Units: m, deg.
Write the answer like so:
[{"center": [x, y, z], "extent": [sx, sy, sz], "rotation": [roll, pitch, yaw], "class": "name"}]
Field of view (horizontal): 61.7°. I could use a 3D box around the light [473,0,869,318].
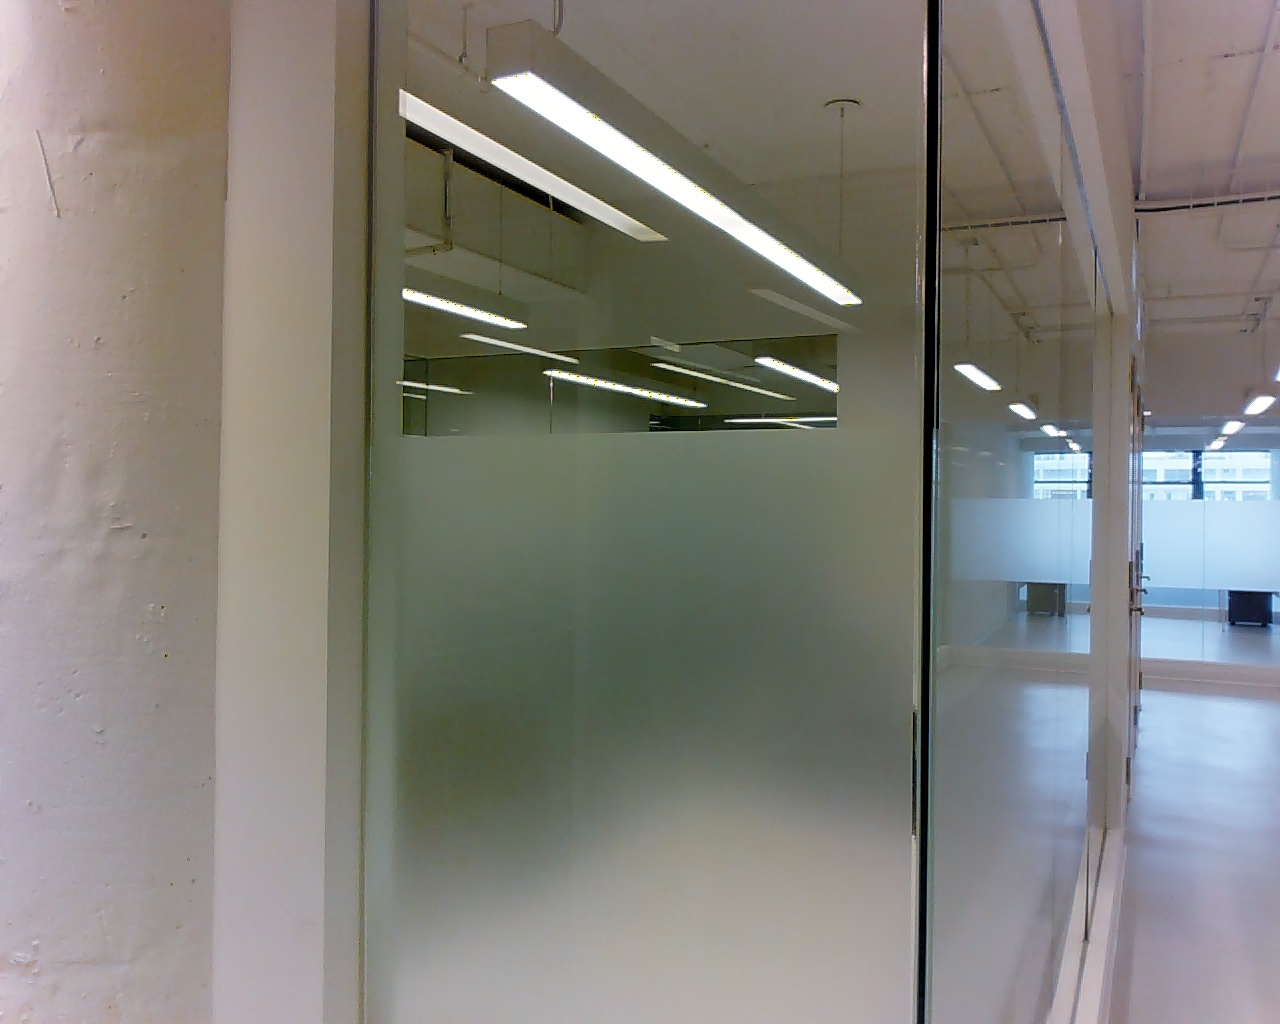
[{"center": [0.290, -0.900, 3.090], "extent": [0.170, 0.270, 2.470], "rotation": [1, 0, 25], "class": "light"}]
